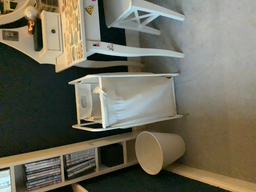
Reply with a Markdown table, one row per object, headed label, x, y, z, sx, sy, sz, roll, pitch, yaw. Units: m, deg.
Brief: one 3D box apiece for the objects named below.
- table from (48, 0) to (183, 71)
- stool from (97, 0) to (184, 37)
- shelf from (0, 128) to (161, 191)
| label | x | y | z | sx | sy | sz | roll | pitch | yaw |
| --- | --- | --- | --- | --- | --- | --- | --- | --- | --- |
| table | -0.100 | -0.700 | 1.430 | 0.490 | 0.730 | 1.000 | -4 | 90 | 55 |
| stool | 0.070 | -0.670 | 1.430 | 0.330 | 0.450 | 0.390 | -13 | 83 | 55 |
| shelf | -0.610 | 0.470 | 1.200 | 0.180 | 1.980 | 0.270 | -4 | 90 | 55 |
